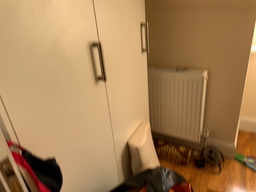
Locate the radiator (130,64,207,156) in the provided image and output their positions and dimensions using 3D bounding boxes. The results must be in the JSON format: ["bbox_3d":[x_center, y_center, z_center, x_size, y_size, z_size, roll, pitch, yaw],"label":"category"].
[{"bbox_3d":[0.330,0.120,1.830,0.590,0.740,0.110,10,31,26],"label":"radiator"}]
